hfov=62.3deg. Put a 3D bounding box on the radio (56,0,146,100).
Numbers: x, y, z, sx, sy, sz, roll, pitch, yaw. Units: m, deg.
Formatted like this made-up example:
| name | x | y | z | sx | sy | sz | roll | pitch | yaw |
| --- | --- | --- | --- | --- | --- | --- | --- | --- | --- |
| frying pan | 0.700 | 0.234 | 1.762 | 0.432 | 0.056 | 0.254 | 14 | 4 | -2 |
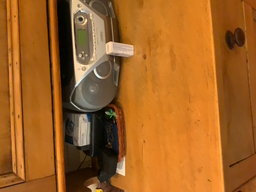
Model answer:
| name | x | y | z | sx | sy | sz | roll | pitch | yaw |
| --- | --- | --- | --- | --- | --- | --- | --- | --- | --- |
| radio | -0.100 | -0.160 | 0.710 | 0.250 | 0.180 | 0.330 | -5 | 86 | 49 |
